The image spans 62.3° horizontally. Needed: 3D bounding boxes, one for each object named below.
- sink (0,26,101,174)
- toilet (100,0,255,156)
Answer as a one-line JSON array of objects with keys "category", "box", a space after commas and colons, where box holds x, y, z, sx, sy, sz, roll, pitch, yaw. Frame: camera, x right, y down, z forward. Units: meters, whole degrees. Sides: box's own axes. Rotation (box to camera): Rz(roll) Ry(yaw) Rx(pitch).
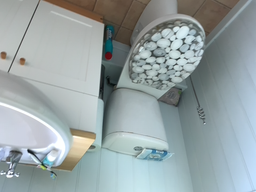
[{"category": "sink", "box": [-0.480, 0.050, 0.750, 0.590, 0.220, 0.580, 15, 140, -21]}, {"category": "toilet", "box": [0.160, -0.160, 1.200, 0.410, 0.740, 0.670, 14, 141, -20]}]
